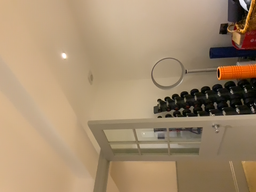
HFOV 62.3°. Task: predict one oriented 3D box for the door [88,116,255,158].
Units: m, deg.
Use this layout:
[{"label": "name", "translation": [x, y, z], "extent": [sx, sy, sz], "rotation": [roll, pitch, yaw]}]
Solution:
[{"label": "door", "translation": [0.670, 0.460, 2.190], "extent": [0.850, 1.980, 0.040], "rotation": [74, -164, -52]}]
